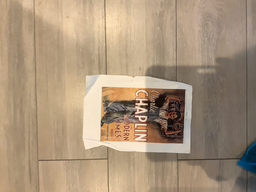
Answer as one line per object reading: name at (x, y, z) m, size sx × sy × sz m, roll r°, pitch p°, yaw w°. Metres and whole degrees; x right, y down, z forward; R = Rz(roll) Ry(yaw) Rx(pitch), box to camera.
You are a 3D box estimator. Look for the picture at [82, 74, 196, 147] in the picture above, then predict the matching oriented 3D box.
picture at (0.030, 0.040, 0.580) m, size 0.300 × 0.010 × 0.180 m, roll 3°, pitch 92°, yaw -1°
